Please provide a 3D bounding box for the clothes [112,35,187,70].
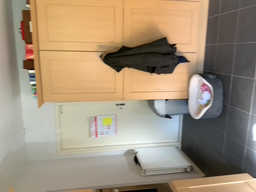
[{"bbox_3d":[0.240,-0.510,2.530,0.280,0.840,0.380,-135,45,-74],"label":"clothes"}]
